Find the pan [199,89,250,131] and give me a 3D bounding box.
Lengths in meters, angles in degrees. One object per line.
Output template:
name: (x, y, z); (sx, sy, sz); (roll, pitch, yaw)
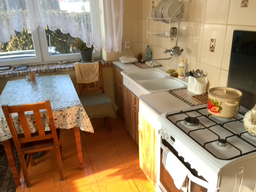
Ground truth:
pan: (0.650, 0.090, 1.450); (0.210, 0.190, 0.210); (-8, 23, -16)
